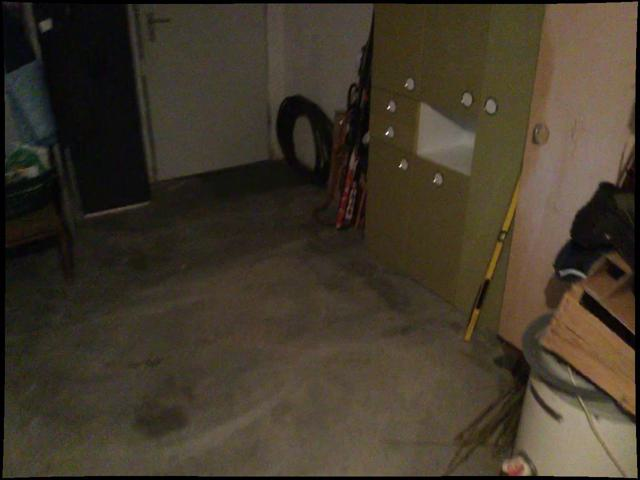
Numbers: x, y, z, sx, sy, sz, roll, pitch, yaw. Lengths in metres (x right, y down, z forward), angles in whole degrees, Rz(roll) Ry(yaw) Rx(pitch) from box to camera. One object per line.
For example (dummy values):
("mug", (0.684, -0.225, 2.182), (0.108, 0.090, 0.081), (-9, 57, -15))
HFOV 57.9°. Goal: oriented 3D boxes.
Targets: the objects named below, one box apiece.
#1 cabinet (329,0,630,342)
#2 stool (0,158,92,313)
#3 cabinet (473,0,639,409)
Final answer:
("cabinet", (0.549, -0.791, 2.350), (0.400, 2.092, 1.140), (-17, 32, -30))
("stool", (-1.449, -0.030, 2.690), (0.530, 0.470, 0.560), (-17, 32, -30))
("cabinet", (0.799, -0.270, 1.780), (0.120, 1.681, 0.450), (-17, 32, -30))
